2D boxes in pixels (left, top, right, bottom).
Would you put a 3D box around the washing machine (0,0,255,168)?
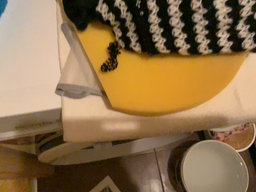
[{"bbox_3d":[-0.080,-0.070,0.840,0.620,0.850,0.550,-9,70,-5],"label":"washing machine"}]
